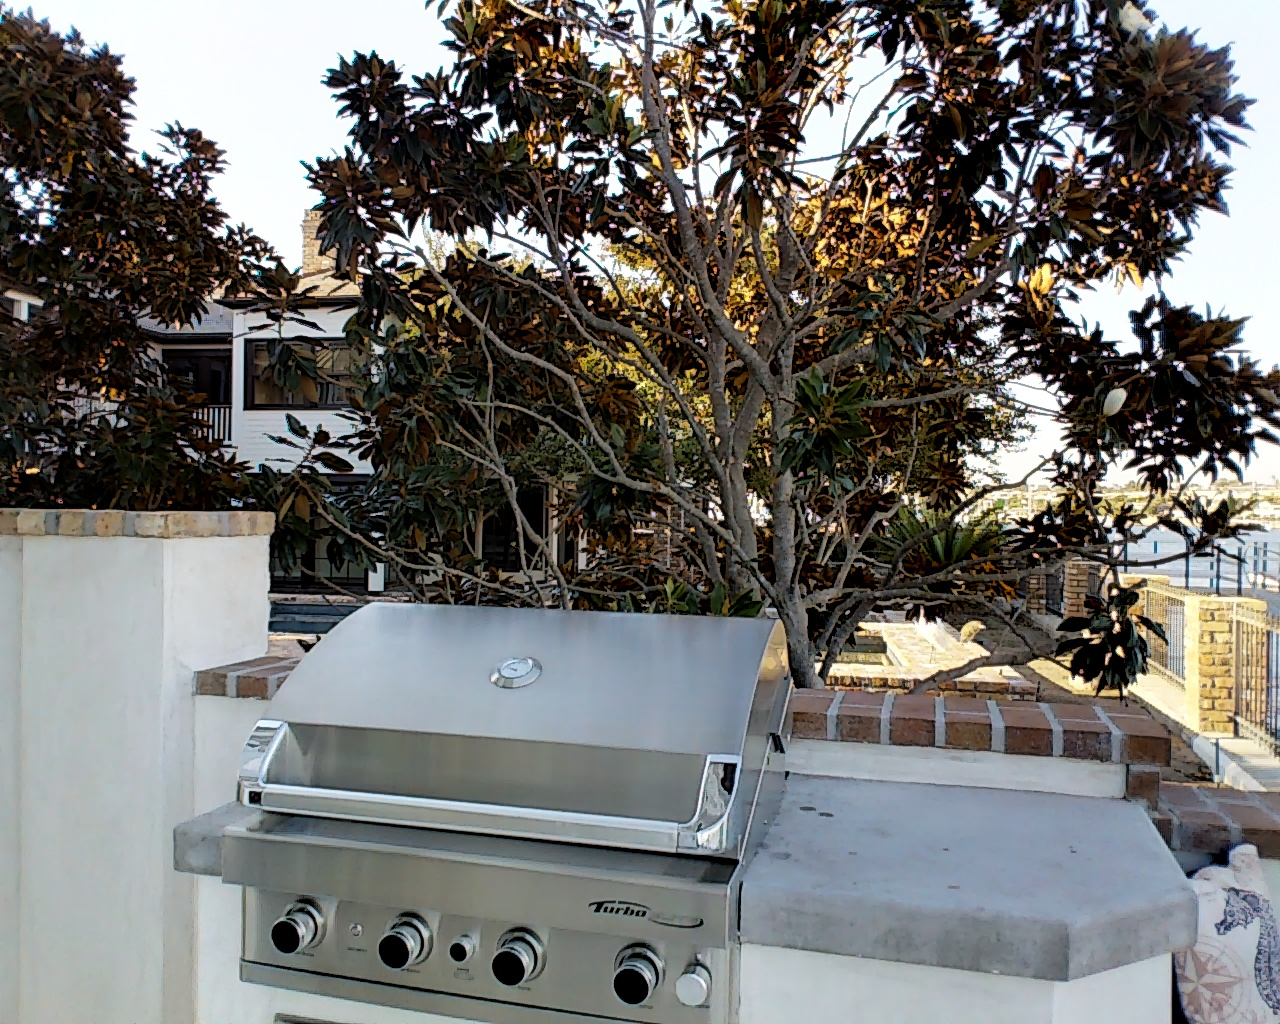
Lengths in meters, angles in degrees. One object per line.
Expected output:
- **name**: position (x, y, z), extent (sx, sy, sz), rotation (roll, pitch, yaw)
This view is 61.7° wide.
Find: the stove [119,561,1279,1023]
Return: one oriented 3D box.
- **stove**: position (0.150, 0.820, 1.930), extent (1.859, 1.391, 0.860), rotation (1, 0, 16)
